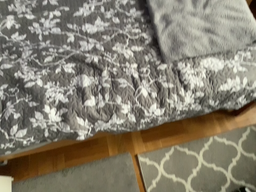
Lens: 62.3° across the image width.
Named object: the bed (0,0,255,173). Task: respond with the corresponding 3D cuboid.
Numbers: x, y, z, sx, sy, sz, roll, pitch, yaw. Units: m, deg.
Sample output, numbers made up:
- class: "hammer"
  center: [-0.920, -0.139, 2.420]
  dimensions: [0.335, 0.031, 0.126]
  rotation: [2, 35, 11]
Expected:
- class: "bed"
  center: [-0.350, -0.330, 1.430]
  dimensions: [2.170, 0.540, 1.320]
  rotation: [-12, 67, -3]
